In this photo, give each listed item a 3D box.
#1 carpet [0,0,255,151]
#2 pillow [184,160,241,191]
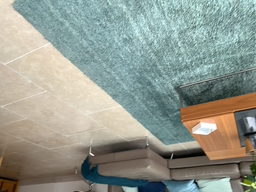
[{"bbox_3d":[0.680,-0.090,1.680,1.820,0.180,2.570,-14,146,24],"label":"carpet"},{"bbox_3d":[1.250,1.360,3.160,0.450,0.580,0.330,-53,136,-1],"label":"pillow"}]
